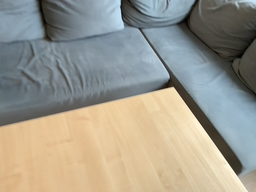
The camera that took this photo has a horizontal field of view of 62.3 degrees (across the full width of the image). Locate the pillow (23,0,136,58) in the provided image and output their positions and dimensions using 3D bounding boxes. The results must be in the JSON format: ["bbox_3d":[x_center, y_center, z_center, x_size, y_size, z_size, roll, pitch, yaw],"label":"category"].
[{"bbox_3d":[-0.300,-0.600,1.440,0.590,0.450,0.180,-31,57,3],"label":"pillow"}]

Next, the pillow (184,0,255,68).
[{"bbox_3d":[0.660,-0.550,1.610,0.150,0.420,0.510,-19,56,-10],"label":"pillow"}]

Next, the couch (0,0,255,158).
[{"bbox_3d":[-0.210,-0.410,1.530,2.420,0.780,1.020,-13,54,-22],"label":"couch"}]
